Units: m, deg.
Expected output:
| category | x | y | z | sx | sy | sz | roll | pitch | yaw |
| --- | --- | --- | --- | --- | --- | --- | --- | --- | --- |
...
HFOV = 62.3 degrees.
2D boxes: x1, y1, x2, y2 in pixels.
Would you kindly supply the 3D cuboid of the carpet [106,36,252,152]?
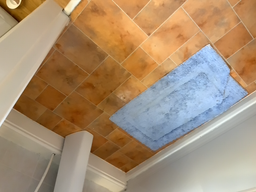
| category | x | y | z | sx | sy | sz | roll | pitch | yaw |
| --- | --- | --- | --- | --- | --- | --- | --- | --- | --- |
| carpet | 0.310 | 0.060 | 1.400 | 0.490 | 0.030 | 0.820 | 38 | 118 | -25 |
